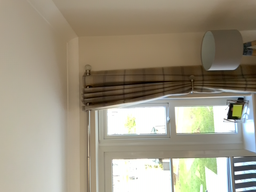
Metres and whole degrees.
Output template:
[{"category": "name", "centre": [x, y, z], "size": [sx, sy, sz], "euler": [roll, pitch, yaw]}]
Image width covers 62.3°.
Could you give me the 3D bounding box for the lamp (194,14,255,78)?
[{"category": "lamp", "centre": [0.910, -0.400, 1.660], "size": [0.390, 0.630, 0.330], "euler": [-91, -1, -48]}]
